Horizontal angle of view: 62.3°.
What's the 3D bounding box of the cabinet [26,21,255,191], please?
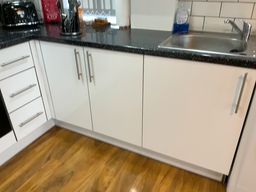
[{"bbox_3d":[0.070,-0.030,1.710,1.520,0.920,0.580,12,31,23],"label":"cabinet"}]
